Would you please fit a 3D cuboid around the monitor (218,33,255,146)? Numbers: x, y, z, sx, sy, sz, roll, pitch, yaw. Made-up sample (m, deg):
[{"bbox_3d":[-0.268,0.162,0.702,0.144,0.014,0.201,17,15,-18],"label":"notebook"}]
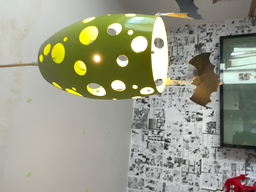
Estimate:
[{"bbox_3d":[1.090,-0.070,1.740,0.050,0.640,0.950,31,-118,-66],"label":"monitor"}]
